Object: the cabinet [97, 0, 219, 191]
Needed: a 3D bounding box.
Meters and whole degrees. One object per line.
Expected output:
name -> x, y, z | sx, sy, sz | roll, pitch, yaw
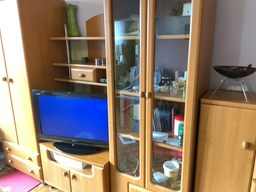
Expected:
cabinet -> 0.220, 0.110, 1.720 | 0.730, 1.920, 0.470 | 9, 18, 30
